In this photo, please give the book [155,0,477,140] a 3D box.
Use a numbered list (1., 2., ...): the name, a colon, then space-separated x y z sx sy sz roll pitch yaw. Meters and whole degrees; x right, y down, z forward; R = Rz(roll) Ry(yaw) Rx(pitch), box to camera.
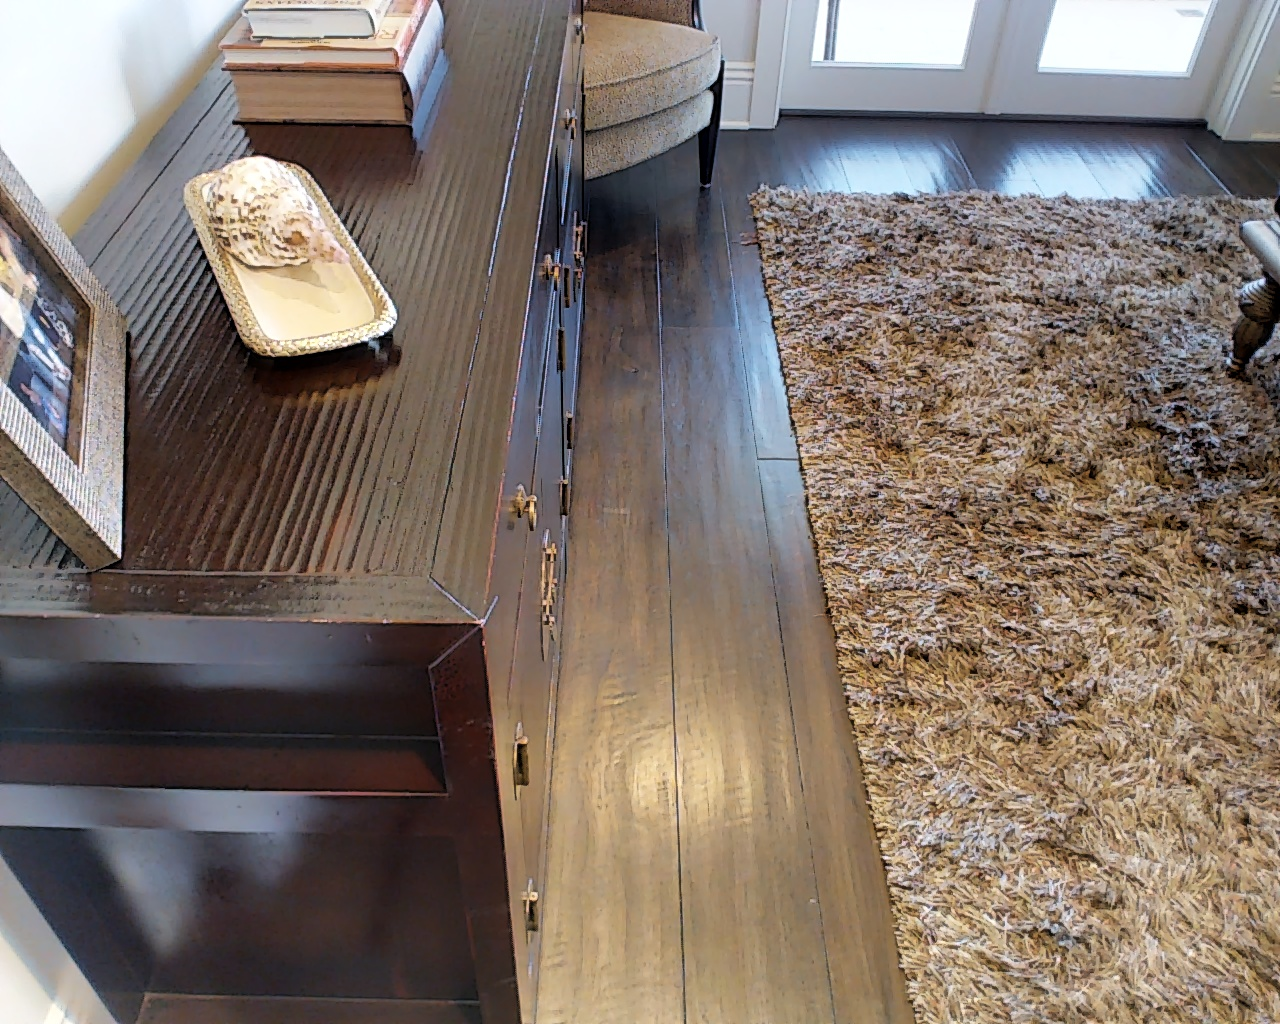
1. book: -0.420 -0.660 1.480 0.340 0.150 0.350 0 41 -1
